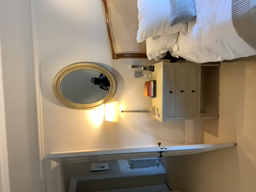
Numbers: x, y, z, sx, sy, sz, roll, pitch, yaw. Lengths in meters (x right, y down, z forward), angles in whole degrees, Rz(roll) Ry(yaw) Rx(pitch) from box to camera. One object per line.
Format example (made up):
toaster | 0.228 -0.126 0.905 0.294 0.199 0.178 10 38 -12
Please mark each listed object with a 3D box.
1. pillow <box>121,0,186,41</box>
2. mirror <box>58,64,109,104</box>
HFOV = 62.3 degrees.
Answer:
pillow | 0.270 -0.990 2.370 0.520 0.460 0.220 -50 9 -2
mirror | -0.600 -0.170 2.930 0.070 0.660 0.530 -146 54 -79
